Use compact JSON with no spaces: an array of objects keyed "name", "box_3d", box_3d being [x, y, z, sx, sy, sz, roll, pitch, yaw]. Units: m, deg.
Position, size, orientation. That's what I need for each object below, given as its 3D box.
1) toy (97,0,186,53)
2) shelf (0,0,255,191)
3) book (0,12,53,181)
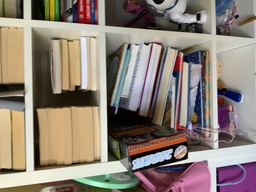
[{"name":"toy","box_3d":[0.030,-0.360,0.790,0.280,0.240,0.330,178,91,-71]},{"name":"shelf","box_3d":[0.210,-0.160,0.810,0.370,1.410,0.740,180,88,-71]},{"name":"book","box_3d":[-0.330,0.000,0.600,0.320,0.220,0.360,-178,88,-71]}]
